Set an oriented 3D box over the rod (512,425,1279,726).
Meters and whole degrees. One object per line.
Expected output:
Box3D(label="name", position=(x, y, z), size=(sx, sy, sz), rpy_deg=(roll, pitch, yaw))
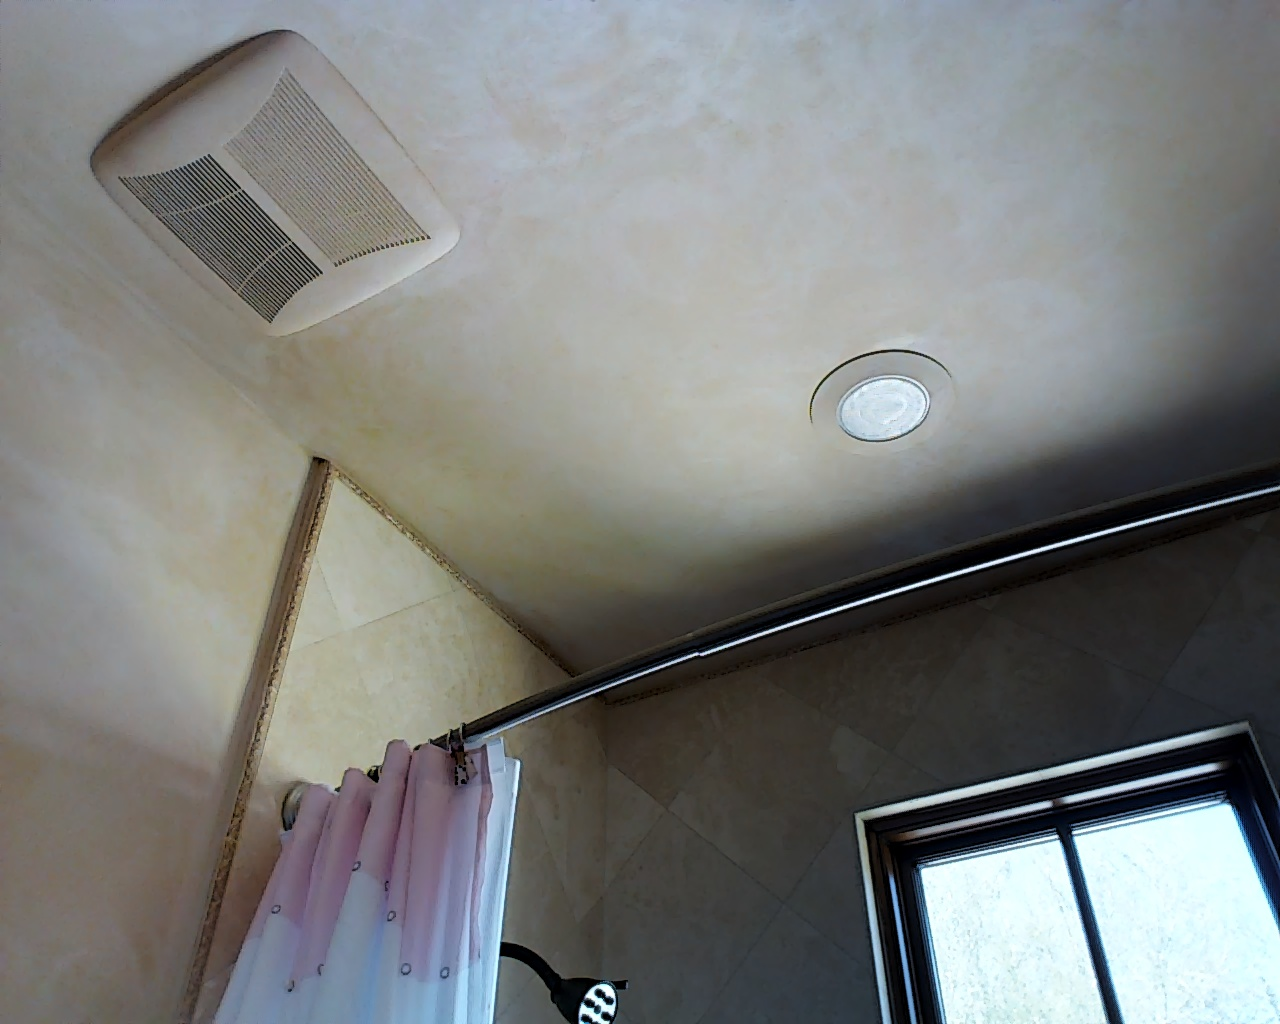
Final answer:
Box3D(label="rod", position=(0.290, 0.050, 0.960), size=(0.920, 0.060, 0.060), rpy_deg=(-19, -45, 22))
